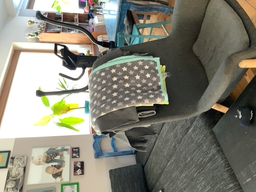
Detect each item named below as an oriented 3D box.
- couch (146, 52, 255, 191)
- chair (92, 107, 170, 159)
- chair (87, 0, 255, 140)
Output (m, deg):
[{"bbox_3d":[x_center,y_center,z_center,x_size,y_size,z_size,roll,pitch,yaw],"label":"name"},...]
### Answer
[{"bbox_3d":[0.600,0.360,1.800,0.880,0.440,1.220,104,159,-45],"label":"couch"},{"bbox_3d":[0.000,0.520,3.040,0.500,0.980,0.480,103,160,-44],"label":"chair"},{"bbox_3d":[0.340,-0.250,1.390,0.760,1.130,0.750,109,156,-53],"label":"chair"}]
